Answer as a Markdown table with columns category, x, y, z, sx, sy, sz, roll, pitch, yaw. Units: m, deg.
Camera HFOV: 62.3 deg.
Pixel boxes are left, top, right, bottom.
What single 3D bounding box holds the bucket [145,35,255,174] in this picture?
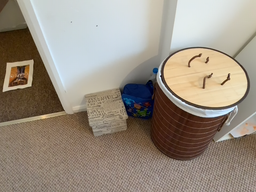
| category | x | y | z | sx | sy | sz | roll | pitch | yaw |
| --- | --- | --- | --- | --- | --- | --- | --- | --- | --- |
| bucket | 0.340 | 0.060 | 1.080 | 0.390 | 0.510 | 0.440 | -9 | 53 | -6 |
